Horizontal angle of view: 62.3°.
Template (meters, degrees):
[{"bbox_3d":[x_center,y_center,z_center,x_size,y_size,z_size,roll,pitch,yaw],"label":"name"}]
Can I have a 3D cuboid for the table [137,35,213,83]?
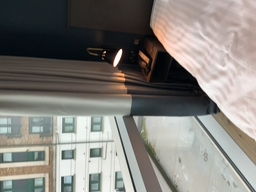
[{"bbox_3d":[0.430,-0.350,2.040,0.330,0.570,0.310,-113,29,-54],"label":"table"}]
